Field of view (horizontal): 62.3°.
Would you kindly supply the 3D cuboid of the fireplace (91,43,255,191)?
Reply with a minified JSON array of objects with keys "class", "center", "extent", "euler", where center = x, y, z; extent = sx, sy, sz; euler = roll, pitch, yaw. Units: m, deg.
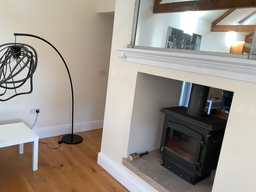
[{"class":"fireplace","center":[0.630,0.380,2.270],"extent":[0.930,1.630,2.070],"euler":[-3,16,-42]}]
